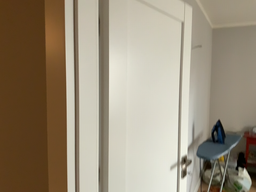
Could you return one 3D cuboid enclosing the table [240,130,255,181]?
[{"bbox_3d":[2.090,0.970,3.490,0.380,0.700,0.380,3,5,29],"label":"table"}]

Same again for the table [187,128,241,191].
[{"bbox_3d":[1.130,0.960,2.680,0.320,0.840,1.260,4,6,35],"label":"table"}]
